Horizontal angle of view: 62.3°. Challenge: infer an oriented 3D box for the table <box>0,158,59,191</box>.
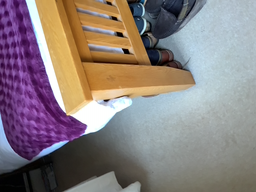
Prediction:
[{"bbox_3d":[-1.070,0.950,2.140,0.410,0.550,0.430,-32,72,43],"label":"table"}]
